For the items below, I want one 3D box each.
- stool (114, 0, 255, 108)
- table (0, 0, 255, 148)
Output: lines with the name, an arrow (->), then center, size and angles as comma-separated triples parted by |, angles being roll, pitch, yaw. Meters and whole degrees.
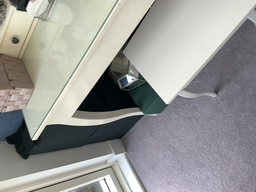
stool -> 0.290, -0.210, 0.880 | 0.410, 0.460, 0.320 | -52, 58, 28
table -> 0.030, -0.340, 0.930 | 1.020, 0.730, 0.540 | -49, 59, 29
